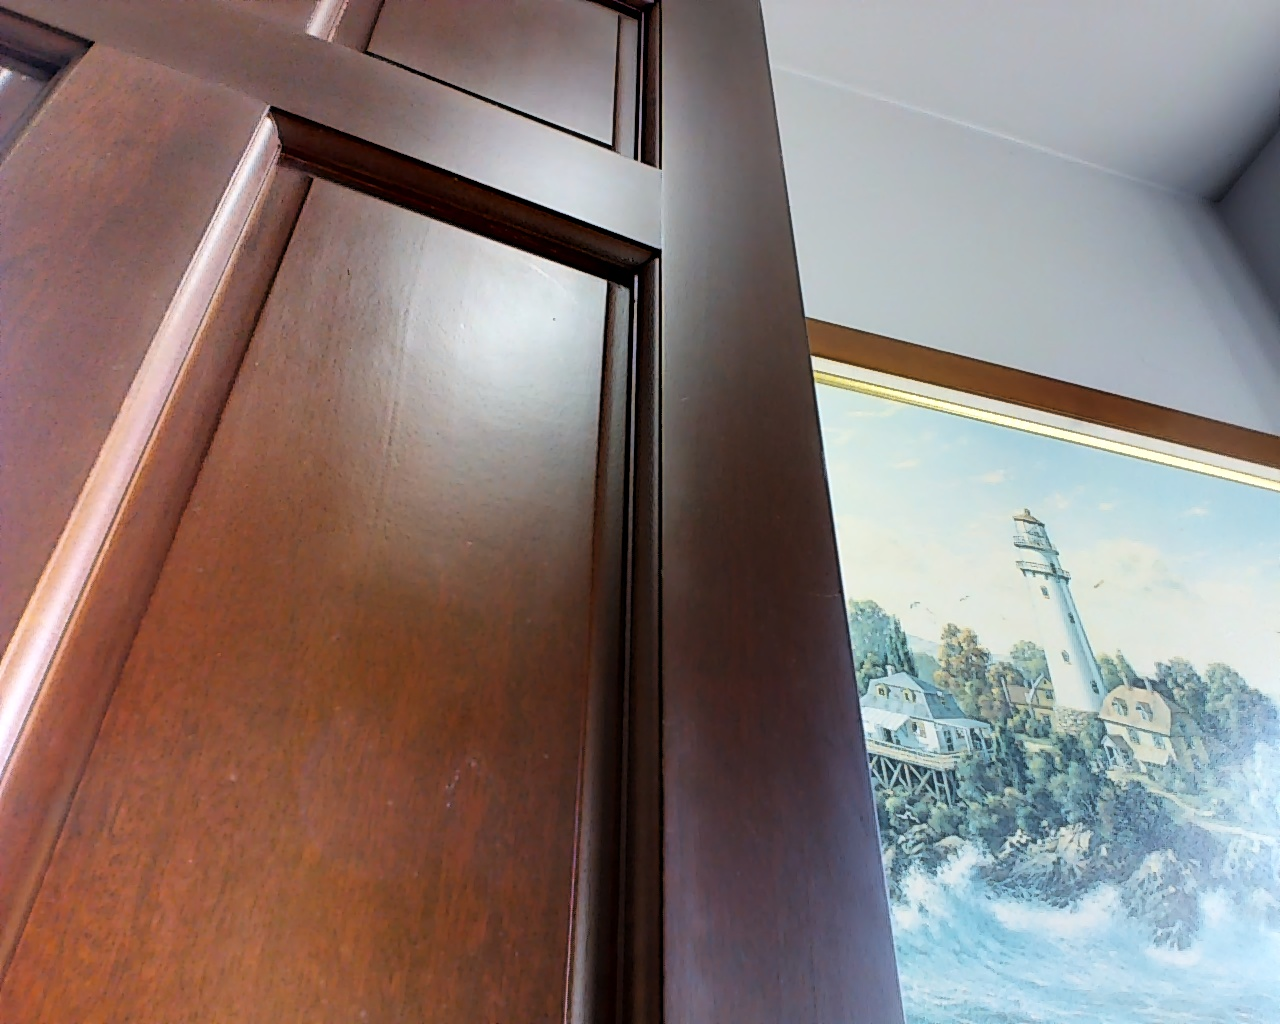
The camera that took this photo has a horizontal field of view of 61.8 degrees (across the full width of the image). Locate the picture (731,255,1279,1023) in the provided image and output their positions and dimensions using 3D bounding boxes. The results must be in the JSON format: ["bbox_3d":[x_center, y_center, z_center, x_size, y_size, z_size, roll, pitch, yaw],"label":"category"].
[{"bbox_3d":[0.440,0.130,0.790,0.720,0.700,0.070,11,-43,-13],"label":"picture"}]
